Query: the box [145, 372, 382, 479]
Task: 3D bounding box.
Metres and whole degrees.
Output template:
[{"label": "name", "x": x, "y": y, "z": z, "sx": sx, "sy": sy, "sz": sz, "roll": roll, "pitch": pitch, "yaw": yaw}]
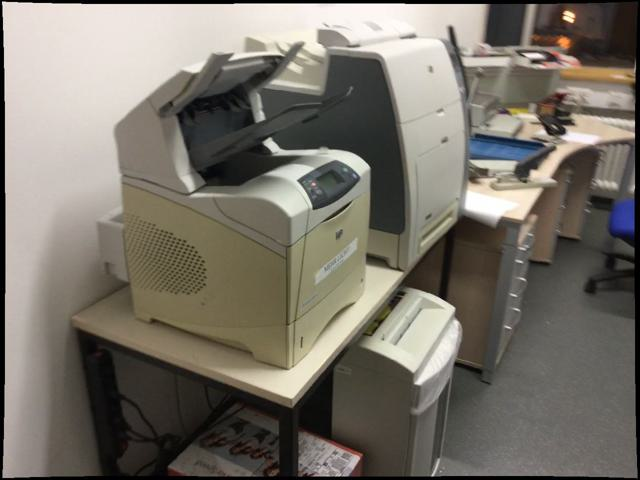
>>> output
[{"label": "box", "x": -0.150, "y": 0.671, "z": 1.620, "sx": 0.530, "sy": 0.300, "sz": 0.350, "roll": 14, "pitch": 28, "yaw": 23}]
